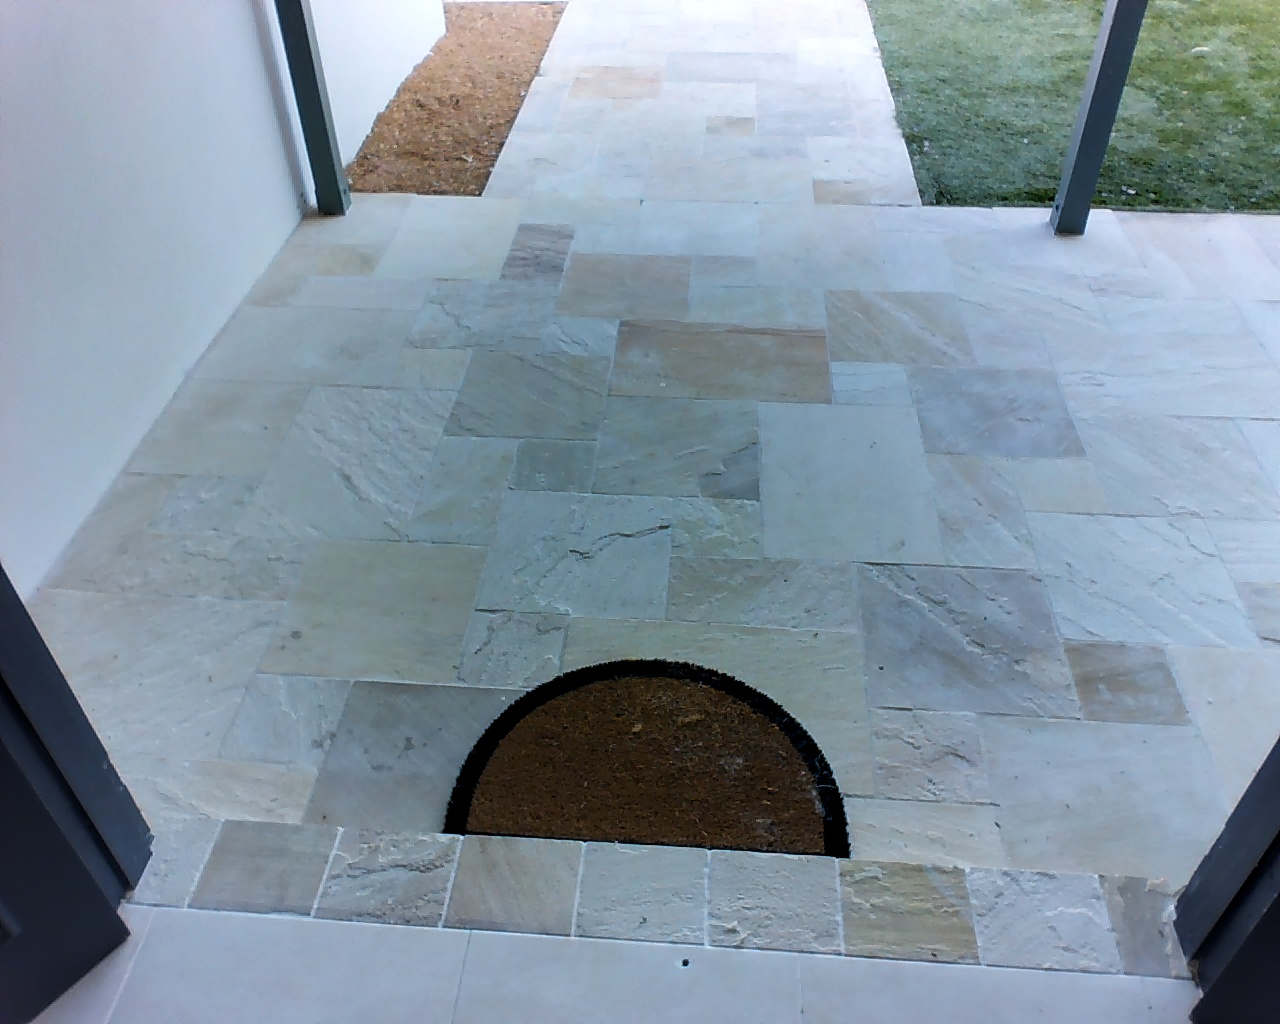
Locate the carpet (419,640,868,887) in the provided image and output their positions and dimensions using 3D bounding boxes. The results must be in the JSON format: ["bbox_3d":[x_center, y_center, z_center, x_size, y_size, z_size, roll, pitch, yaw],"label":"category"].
[{"bbox_3d":[0.020,0.440,1.970,0.750,0.030,0.470,3,41,4],"label":"carpet"}]
